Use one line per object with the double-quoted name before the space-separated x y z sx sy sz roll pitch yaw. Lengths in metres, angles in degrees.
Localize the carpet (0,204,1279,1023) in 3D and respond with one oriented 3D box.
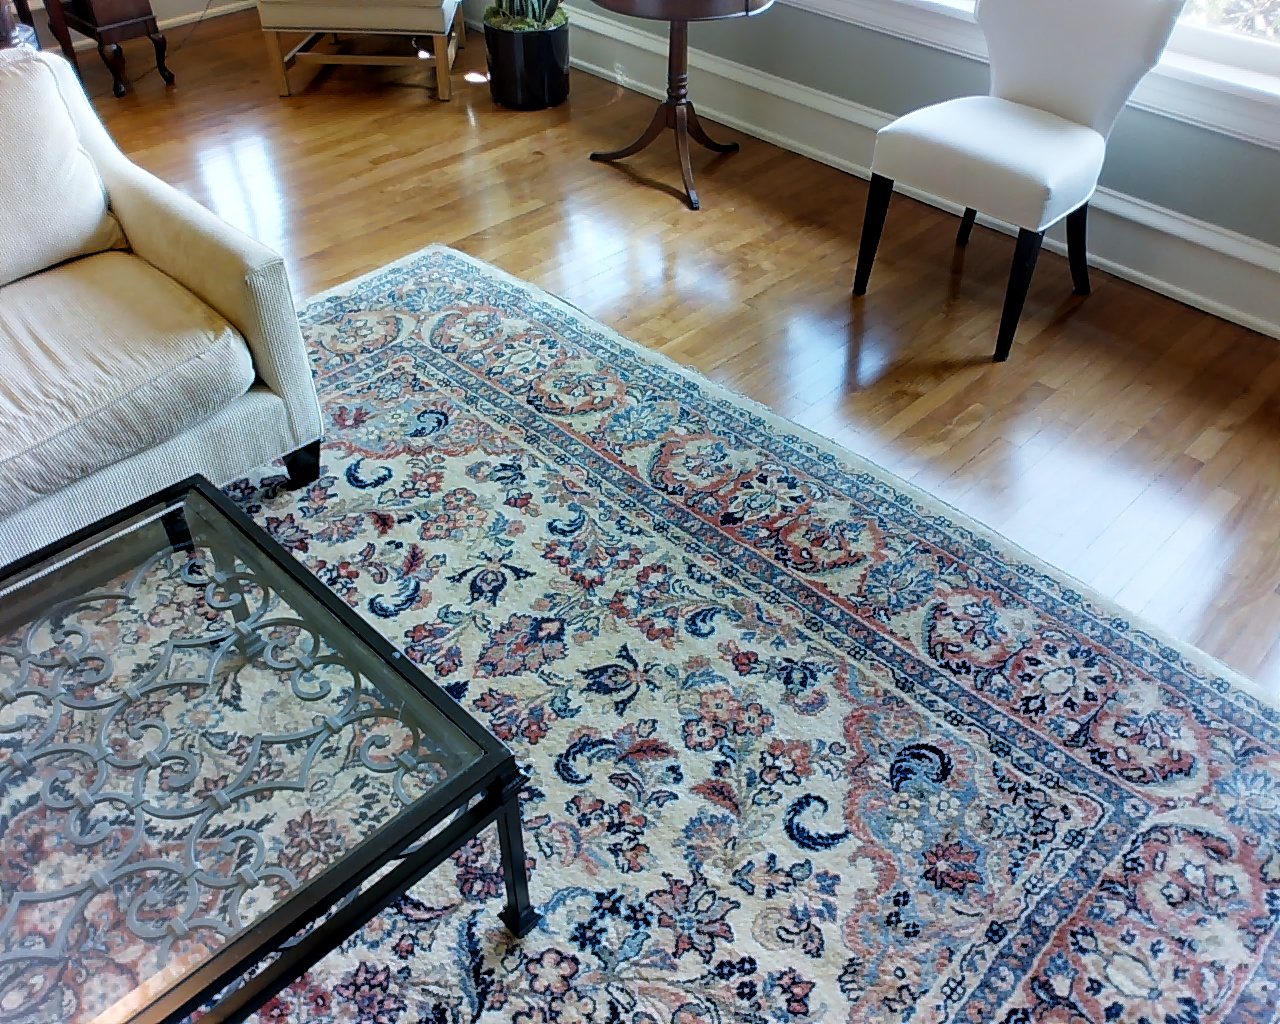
"carpet" -1.050 0.700 1.570 2.930 0.070 4.190 34 51 32
